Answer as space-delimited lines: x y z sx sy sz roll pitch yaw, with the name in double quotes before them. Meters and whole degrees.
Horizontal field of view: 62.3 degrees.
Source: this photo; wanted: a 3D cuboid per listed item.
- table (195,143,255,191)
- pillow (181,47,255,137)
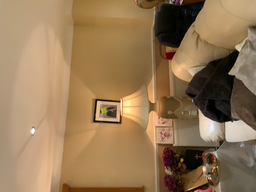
"table" 1.160 0.900 2.560 0.560 0.460 0.630 108 163 -74
"pillow" 0.840 0.030 1.840 0.750 0.500 0.570 106 165 -73
